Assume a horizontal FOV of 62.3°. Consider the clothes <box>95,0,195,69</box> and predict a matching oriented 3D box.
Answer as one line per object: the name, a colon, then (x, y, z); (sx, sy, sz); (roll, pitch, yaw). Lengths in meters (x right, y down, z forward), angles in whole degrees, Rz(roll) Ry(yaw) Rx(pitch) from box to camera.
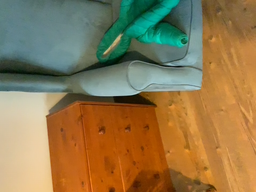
clothes: (0.060, -0.400, 1.060); (0.520, 0.120, 0.460); (-2, 85, 41)
